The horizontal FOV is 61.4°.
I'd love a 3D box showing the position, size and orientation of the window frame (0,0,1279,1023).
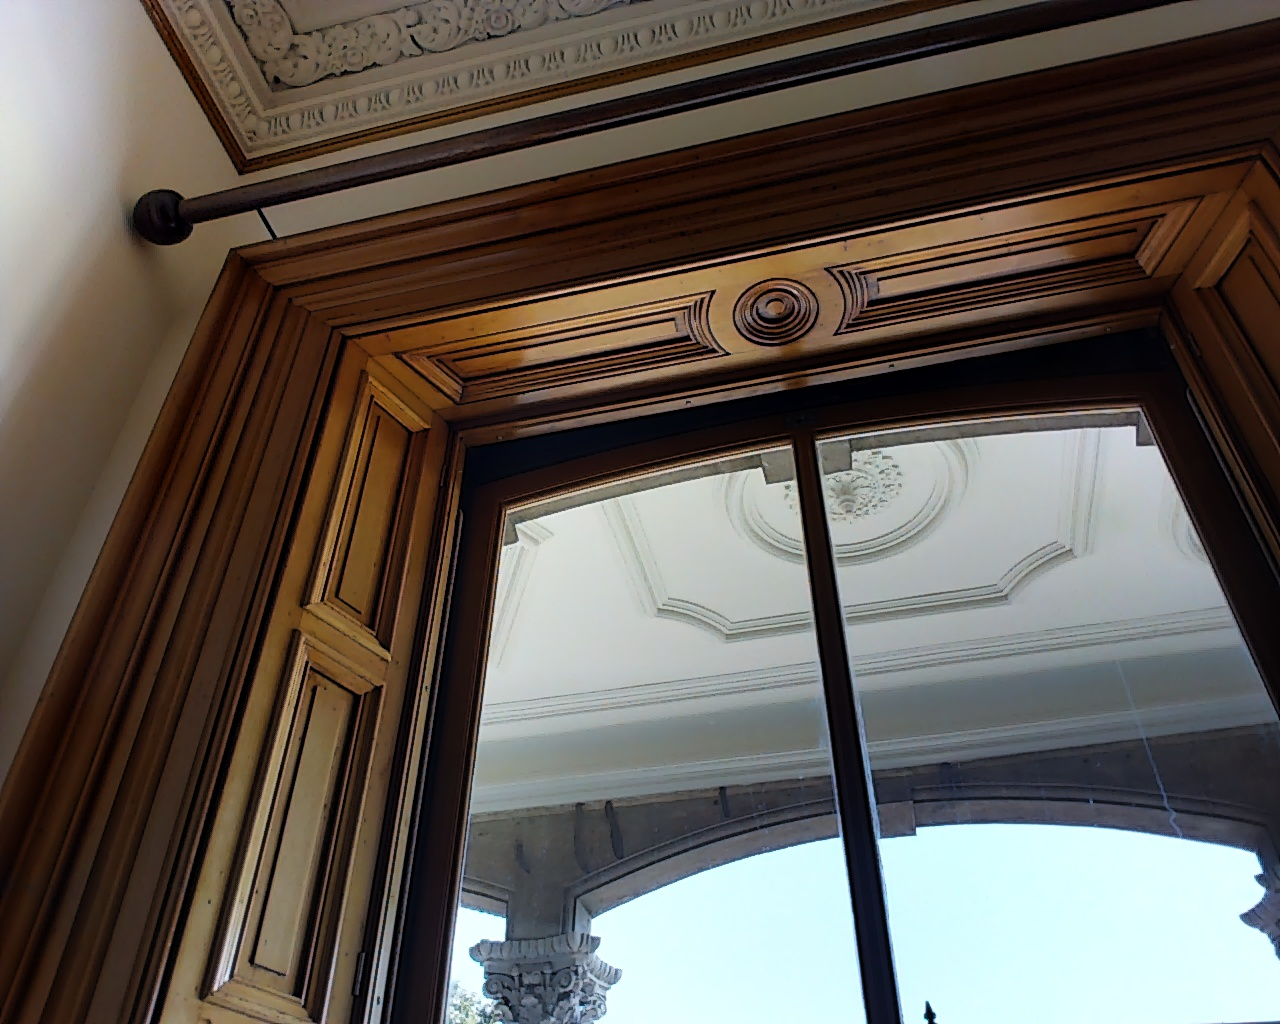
[{"bbox_3d":[0.270,0.610,1.000,2.199,3.431,0.570,-10,-43,12],"label":"window frame"}]
